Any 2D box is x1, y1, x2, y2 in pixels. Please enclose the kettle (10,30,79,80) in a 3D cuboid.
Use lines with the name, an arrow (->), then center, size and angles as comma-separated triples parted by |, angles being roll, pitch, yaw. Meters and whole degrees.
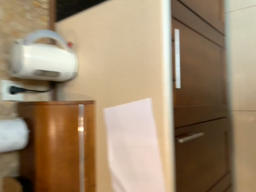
kettle -> -0.330, -0.150, 0.850 | 0.150, 0.210, 0.140 | -5, 87, 39
